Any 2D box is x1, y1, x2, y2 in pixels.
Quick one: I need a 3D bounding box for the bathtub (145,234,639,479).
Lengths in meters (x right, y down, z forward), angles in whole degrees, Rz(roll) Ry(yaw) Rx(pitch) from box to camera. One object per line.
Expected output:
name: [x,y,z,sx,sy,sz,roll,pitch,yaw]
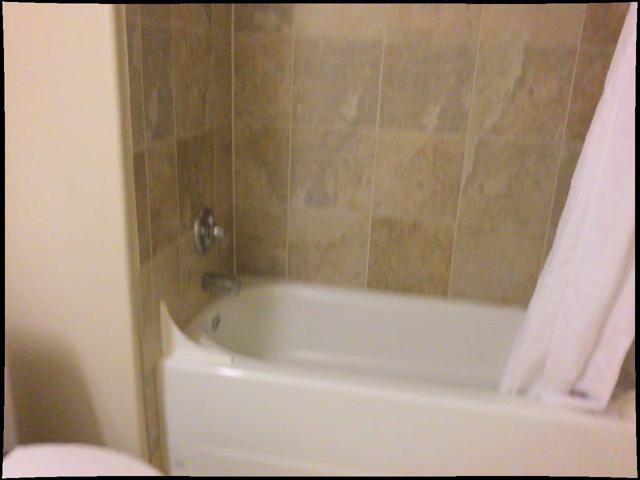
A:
bathtub: [0.279,0.471,2.060,1.506,0.631,0.780,5,20,9]
